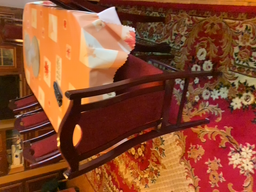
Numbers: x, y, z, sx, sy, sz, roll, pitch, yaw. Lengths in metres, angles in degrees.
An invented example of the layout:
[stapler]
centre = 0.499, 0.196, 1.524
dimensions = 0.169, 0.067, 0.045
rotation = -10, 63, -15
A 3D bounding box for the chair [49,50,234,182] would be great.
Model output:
[chair]
centre = 0.080, 0.030, 1.240
dimensions = 0.480, 0.910, 0.450
rotation = 33, 121, 49

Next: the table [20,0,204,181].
[table]
centre = -0.460, -0.350, 2.090
dimensions = 2.040, 0.790, 0.940
rotation = 36, 123, 48
